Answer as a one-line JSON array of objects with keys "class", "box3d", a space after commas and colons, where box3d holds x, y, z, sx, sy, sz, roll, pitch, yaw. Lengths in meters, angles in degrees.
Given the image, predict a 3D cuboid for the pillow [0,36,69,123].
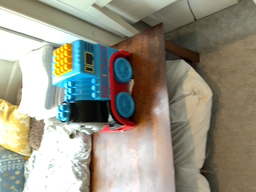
[{"class": "pillow", "box3d": [-0.580, -0.090, 1.320, 0.380, 0.390, 0.180, -22, 147, 28]}]
